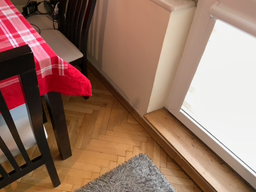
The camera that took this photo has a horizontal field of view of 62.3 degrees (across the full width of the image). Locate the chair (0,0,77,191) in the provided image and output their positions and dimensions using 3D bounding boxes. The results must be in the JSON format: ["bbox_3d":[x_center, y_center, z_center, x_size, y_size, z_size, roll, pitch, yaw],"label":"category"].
[{"bbox_3d":[-0.570,0.150,0.870,0.410,0.990,0.560,-30,56,-31],"label":"chair"}]

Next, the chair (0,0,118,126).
[{"bbox_3d":[-0.440,-0.380,1.390,0.560,1.010,0.440,-25,54,-28],"label":"chair"}]
